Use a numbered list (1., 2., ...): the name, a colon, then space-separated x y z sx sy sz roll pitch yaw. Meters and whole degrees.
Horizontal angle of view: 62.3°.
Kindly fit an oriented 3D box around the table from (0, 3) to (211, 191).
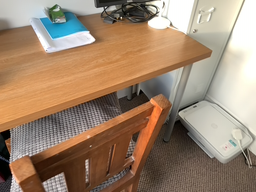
1. table: -0.310 0.070 1.140 1.180 0.730 0.620 -22 49 -25

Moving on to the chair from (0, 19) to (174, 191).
1. chair: -0.230 0.240 0.870 0.420 0.860 0.510 -24 50 -27
